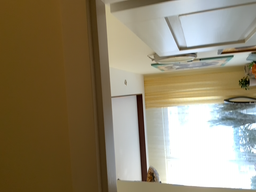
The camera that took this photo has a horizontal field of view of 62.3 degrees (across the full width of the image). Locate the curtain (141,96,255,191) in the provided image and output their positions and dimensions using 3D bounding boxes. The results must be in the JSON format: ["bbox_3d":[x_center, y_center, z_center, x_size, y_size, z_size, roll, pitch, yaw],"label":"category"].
[{"bbox_3d":[1.690,0.990,4.310,0.220,2.810,1.890,2,-95,-72],"label":"curtain"}]
